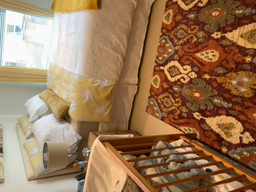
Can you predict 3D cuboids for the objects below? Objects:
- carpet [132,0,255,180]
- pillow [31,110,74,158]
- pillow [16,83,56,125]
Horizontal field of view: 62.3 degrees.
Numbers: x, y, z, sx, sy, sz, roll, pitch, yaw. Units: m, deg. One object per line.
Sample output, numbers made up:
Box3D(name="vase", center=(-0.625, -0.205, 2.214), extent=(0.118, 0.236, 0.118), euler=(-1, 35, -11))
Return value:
Box3D(name="carpet", center=(0.620, -0.260, 1.460), extent=(1.670, 0.070, 1.260), euler=(27, 110, 54))
Box3D(name="pillow", center=(-0.830, 0.380, 2.280), extent=(0.560, 0.290, 0.290), euler=(25, 108, 55))
Box3D(name="pillow", center=(-1.260, 0.090, 2.860), extent=(0.670, 0.360, 0.370), euler=(25, 108, 55))
